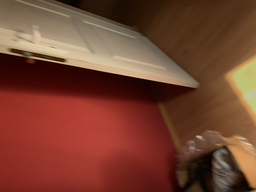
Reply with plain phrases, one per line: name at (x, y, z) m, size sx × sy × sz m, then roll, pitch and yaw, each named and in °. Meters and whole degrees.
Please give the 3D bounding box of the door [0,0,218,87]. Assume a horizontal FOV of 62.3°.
door at (-0.450, -0.590, 1.440) m, size 0.150 × 2.150 × 1.170 m, roll -62°, pitch 41°, yaw 28°
